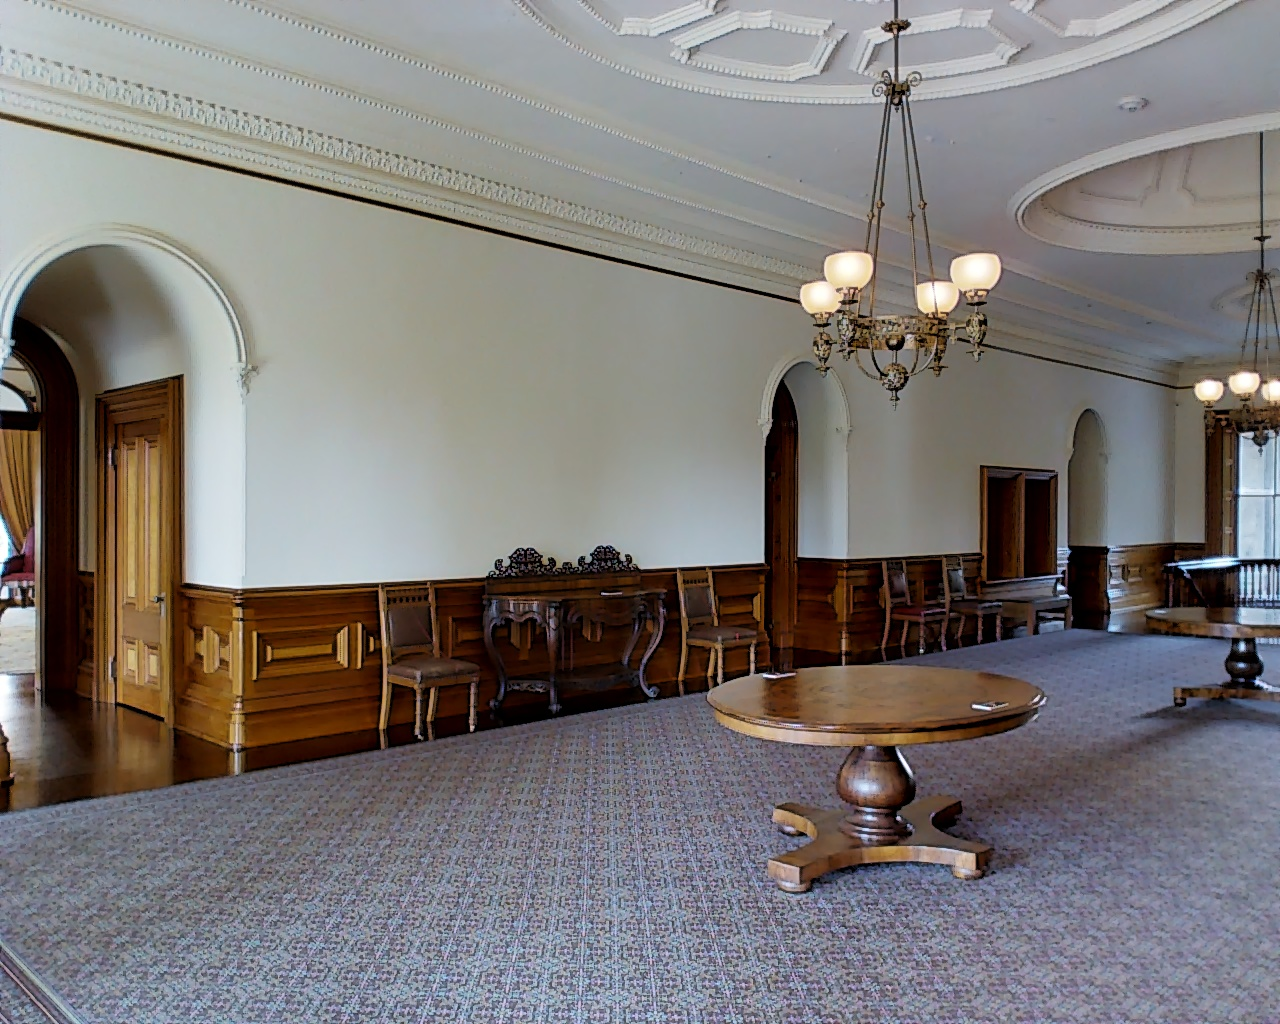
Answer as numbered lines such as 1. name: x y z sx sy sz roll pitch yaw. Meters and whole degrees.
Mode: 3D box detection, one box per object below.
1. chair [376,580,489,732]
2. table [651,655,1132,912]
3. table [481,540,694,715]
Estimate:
1. chair: -1.500 1.010 7.760 0.560 0.990 0.600 0 0 -44
2. table: 1.090 1.140 4.960 1.700 0.710 1.340 0 0 -22
3. table: -0.400 0.880 8.860 1.690 1.260 0.720 0 0 -44
